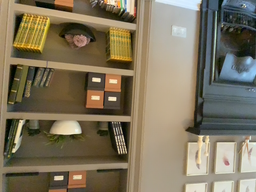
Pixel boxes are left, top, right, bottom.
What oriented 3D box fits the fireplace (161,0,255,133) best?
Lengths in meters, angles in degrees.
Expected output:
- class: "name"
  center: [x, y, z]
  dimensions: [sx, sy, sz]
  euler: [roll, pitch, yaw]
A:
- class: "fireplace"
  center: [1.030, -0.330, 2.200]
  dimensions: [1.250, 1.370, 0.360]
  euler: [4, 180, -19]
